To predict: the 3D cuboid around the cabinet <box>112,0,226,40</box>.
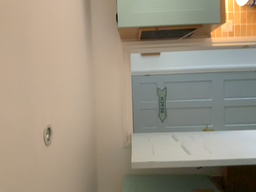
[{"bbox_3d":[0.280,-0.790,1.640,0.350,0.790,0.610,-77,-15,-88],"label":"cabinet"}]
